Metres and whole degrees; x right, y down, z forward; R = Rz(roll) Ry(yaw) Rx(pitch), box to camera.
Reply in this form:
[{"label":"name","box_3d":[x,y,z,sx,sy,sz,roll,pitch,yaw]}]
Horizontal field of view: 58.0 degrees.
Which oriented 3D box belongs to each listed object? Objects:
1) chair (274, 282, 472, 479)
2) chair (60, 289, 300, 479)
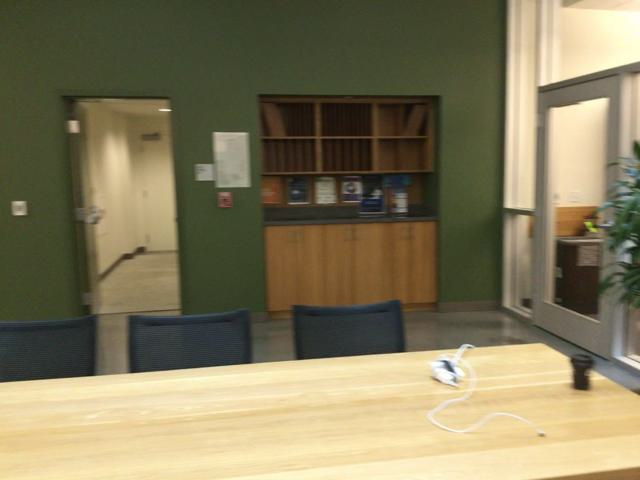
[{"label":"chair","box_3d":[0.140,0.680,2.110,0.570,0.920,0.670,-1,8,-7]},{"label":"chair","box_3d":[-0.430,0.700,2.020,0.660,0.910,0.670,-1,8,-7]}]
